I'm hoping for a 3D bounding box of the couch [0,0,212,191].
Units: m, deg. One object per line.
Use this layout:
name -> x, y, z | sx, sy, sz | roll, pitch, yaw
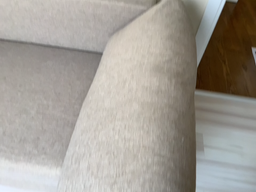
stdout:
couch -> -0.860, -0.030, 1.110 | 2.220, 0.780, 1.180 | 10, 50, 3
